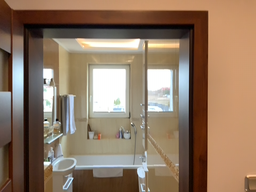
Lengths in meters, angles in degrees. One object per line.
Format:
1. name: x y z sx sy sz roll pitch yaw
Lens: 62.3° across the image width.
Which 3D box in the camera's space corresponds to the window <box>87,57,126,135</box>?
1. window: -0.420 0.000 4.240 0.770 1.510 0.200 0 1 -1
